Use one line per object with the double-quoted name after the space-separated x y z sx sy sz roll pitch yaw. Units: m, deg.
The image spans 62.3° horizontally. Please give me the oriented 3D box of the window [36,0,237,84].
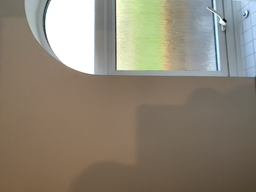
0.060 -0.370 1.150 0.070 1.020 0.600 122 147 -78 "window"
